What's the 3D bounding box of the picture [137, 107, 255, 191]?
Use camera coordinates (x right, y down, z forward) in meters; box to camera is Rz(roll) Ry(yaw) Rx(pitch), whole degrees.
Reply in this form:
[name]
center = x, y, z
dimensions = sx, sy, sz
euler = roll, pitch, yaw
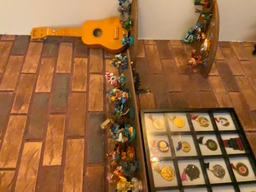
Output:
[picture]
center = 0.280, 0.230, 0.840
dimensions = 0.020, 0.440, 0.420
euler = 101, 166, -53
